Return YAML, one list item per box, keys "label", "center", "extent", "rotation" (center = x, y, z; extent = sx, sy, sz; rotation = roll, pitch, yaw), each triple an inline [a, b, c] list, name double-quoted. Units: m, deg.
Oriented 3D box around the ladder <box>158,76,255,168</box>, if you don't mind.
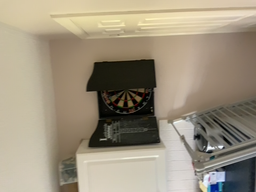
- label: "ladder"
  center: [0.950, 0.110, 1.640]
  extent: [0.820, 1.280, 0.460]
  rotation: [-108, 16, -82]
